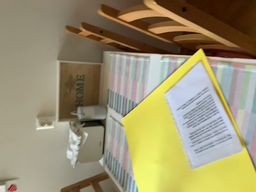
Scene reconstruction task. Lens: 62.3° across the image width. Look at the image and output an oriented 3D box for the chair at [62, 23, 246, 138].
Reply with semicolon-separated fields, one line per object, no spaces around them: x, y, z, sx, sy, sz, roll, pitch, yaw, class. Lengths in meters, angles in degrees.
0.170;-0.110;1.340;0.430;1.040;0.500;27;114;58;chair
